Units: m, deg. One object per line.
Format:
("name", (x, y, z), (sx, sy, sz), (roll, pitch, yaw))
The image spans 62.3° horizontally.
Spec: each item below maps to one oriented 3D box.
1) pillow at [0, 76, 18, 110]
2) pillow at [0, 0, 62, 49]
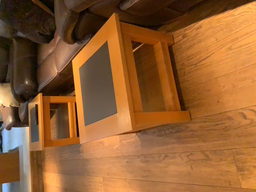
("pillow", (-1.900, -0.040, 3.290), (0.320, 0.280, 0.460), (-17, 75, 52))
("pillow", (-0.890, -0.710, 1.860), (0.450, 0.450, 0.220), (-26, 42, 55))
